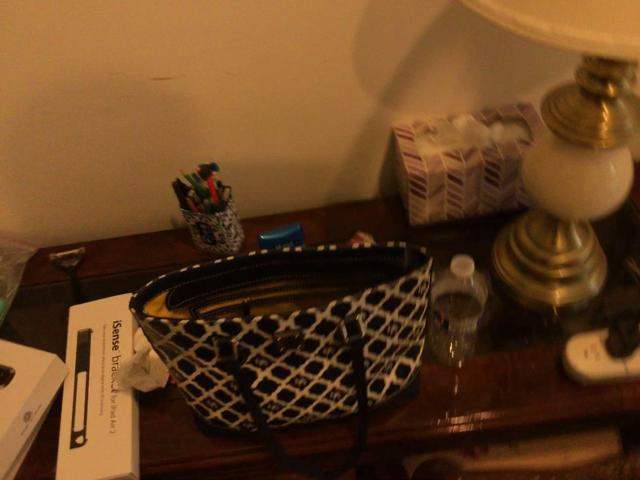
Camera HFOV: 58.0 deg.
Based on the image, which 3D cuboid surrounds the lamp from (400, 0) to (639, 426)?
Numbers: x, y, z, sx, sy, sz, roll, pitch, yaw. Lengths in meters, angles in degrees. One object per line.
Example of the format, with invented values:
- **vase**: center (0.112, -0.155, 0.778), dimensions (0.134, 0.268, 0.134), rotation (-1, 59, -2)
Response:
- **lamp**: center (0.300, -0.140, 0.600), dimensions (0.360, 0.740, 0.330), rotation (-7, 49, 0)
